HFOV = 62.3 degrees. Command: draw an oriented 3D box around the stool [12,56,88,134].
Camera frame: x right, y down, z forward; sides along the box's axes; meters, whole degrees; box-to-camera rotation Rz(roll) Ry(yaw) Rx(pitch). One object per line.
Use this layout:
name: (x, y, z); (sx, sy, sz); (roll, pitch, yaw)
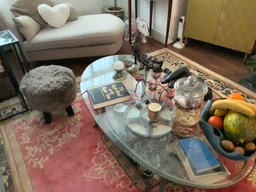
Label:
stool: (-0.670, -0.030, 1.850); (0.430, 0.380, 0.450); (-24, 43, -25)

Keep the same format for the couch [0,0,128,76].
couch: (-0.790, -0.850, 2.550); (1.480, 0.820, 0.740); (-6, 39, -4)
